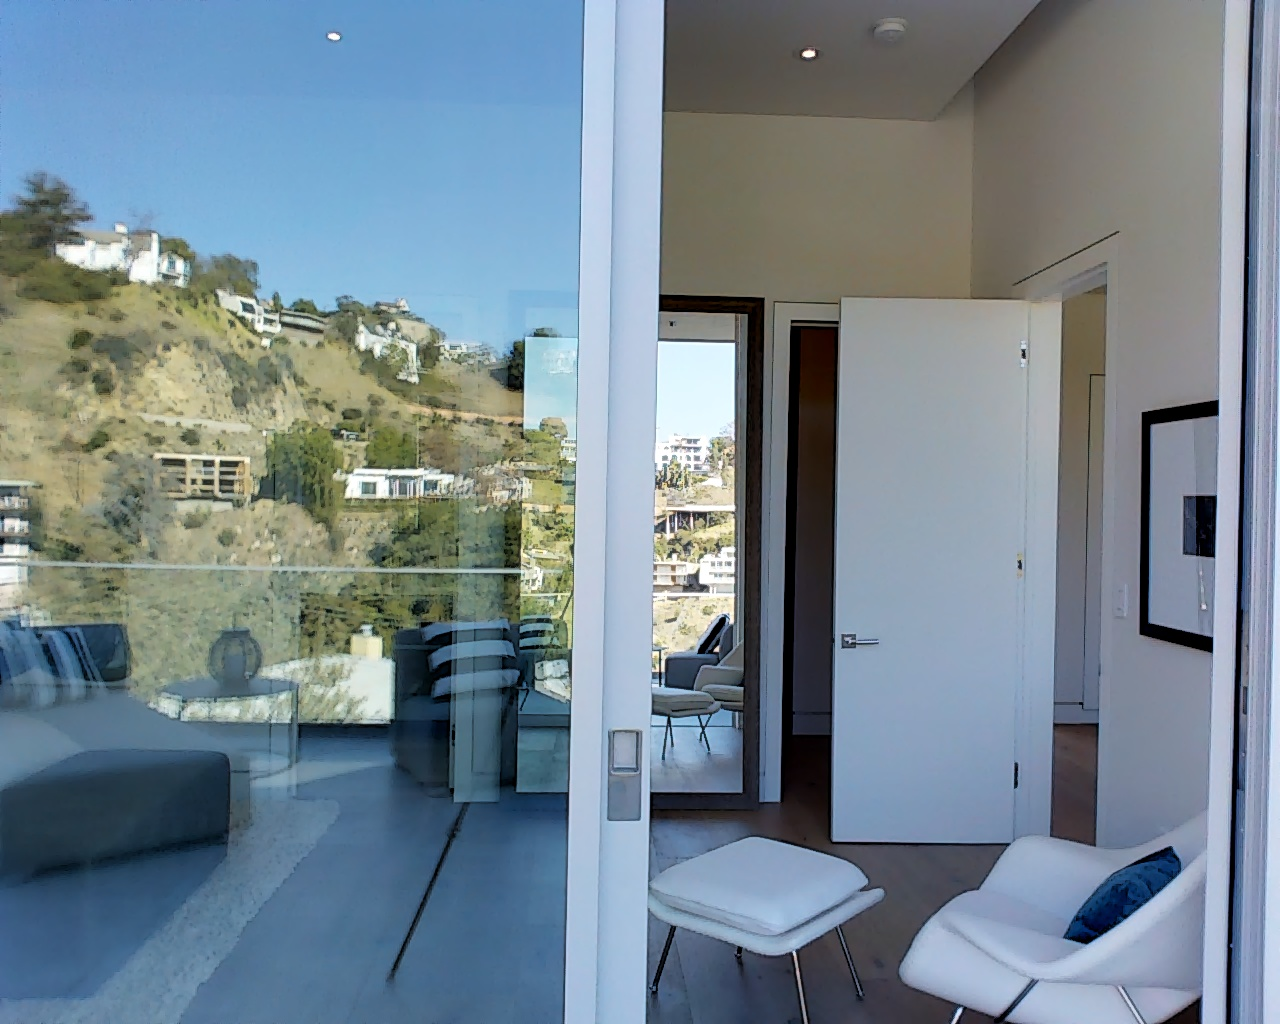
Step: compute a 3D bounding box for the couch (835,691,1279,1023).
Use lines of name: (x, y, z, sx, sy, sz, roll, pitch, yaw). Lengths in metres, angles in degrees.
couch: (1.170, 1.040, 2.750, 0.950, 0.920, 1.070, 1, 0, 36)

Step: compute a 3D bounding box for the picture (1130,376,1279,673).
picture: (1.750, 0.030, 3.330, 0.050, 0.810, 0.810, 0, 0, -3)
